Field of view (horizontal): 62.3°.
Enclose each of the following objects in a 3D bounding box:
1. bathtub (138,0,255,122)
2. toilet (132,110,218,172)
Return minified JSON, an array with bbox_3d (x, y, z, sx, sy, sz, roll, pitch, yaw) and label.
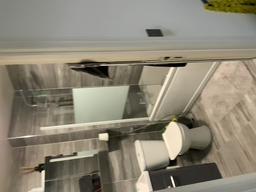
[{"bbox_3d":[0.620,-0.450,2.480,1.700,0.550,0.680,105,157,-51],"label":"bathtub"},{"bbox_3d":[0.530,0.570,2.650,0.660,0.770,0.440,105,156,-52],"label":"toilet"}]
